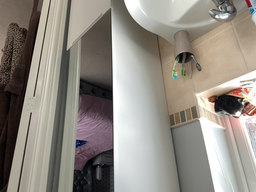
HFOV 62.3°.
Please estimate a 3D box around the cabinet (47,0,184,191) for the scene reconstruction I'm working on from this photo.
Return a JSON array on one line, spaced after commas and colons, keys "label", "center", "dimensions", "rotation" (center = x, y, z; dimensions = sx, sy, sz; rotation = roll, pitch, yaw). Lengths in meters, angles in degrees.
[{"label": "cabinet", "center": [-0.080, -0.190, 1.030], "dimensions": [0.320, 1.650, 0.380], "rotation": [22, 144, -40]}]
